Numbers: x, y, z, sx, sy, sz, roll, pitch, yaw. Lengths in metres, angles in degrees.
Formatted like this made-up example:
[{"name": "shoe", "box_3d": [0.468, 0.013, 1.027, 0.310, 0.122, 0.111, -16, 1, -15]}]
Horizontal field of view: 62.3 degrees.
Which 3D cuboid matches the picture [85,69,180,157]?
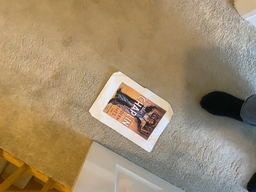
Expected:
[{"name": "picture", "box_3d": [0.020, 0.070, 0.840, 0.310, 0.010, 0.210, 34, 92, -5]}]
